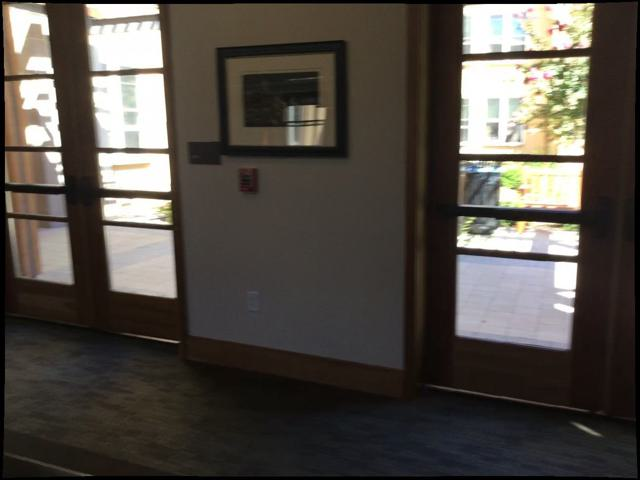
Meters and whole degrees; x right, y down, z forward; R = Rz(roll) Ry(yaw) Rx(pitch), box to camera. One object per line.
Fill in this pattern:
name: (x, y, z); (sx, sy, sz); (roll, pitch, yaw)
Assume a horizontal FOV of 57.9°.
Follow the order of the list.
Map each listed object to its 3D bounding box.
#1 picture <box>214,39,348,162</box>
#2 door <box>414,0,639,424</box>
picture: (-0.200, -0.711, 2.960); (0.699, 0.581, 0.070); (6, 18, 21)
door: (1.389, -0.130, 2.590); (1.818, 1.912, 0.340); (6, 18, 21)
